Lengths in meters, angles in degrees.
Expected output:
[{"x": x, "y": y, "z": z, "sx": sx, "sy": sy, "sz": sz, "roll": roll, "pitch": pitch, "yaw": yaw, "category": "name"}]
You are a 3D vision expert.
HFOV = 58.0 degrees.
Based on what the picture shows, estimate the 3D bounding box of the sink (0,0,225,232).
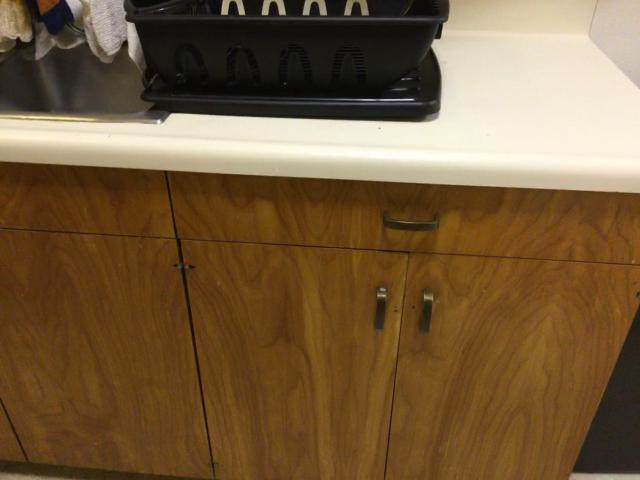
[{"x": -0.640, "y": -0.340, "z": 1.130, "sx": 0.750, "sy": 0.360, "sz": 0.570, "roll": 3, "pitch": 35, "yaw": 5, "category": "sink"}]
